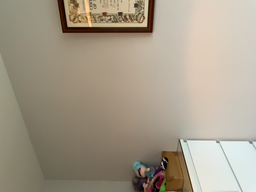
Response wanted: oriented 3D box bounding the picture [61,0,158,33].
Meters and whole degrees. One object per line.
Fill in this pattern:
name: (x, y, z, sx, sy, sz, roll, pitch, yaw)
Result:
picture: (-0.090, -0.470, 1.010, 0.020, 0.460, 0.340, -87, -2, -52)
